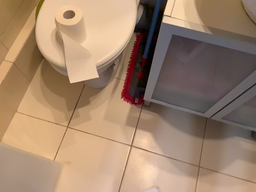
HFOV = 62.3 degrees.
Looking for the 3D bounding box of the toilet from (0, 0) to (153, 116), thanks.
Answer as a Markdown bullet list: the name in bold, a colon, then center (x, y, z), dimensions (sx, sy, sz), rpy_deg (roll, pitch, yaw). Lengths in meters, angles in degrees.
- **toilet**: center (-0.130, -0.400, 0.880), dimensions (0.390, 0.740, 0.700), rpy_deg (15, 69, 4)
